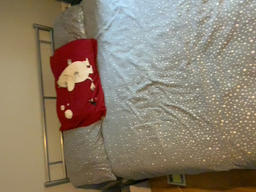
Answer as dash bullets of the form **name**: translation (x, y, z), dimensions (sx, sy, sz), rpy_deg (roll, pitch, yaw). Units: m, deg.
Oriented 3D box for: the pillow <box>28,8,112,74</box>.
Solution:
- **pillow**: translation (-0.470, -0.470, 1.740), dimensions (0.490, 0.460, 0.160), rpy_deg (-24, -22, -31)
